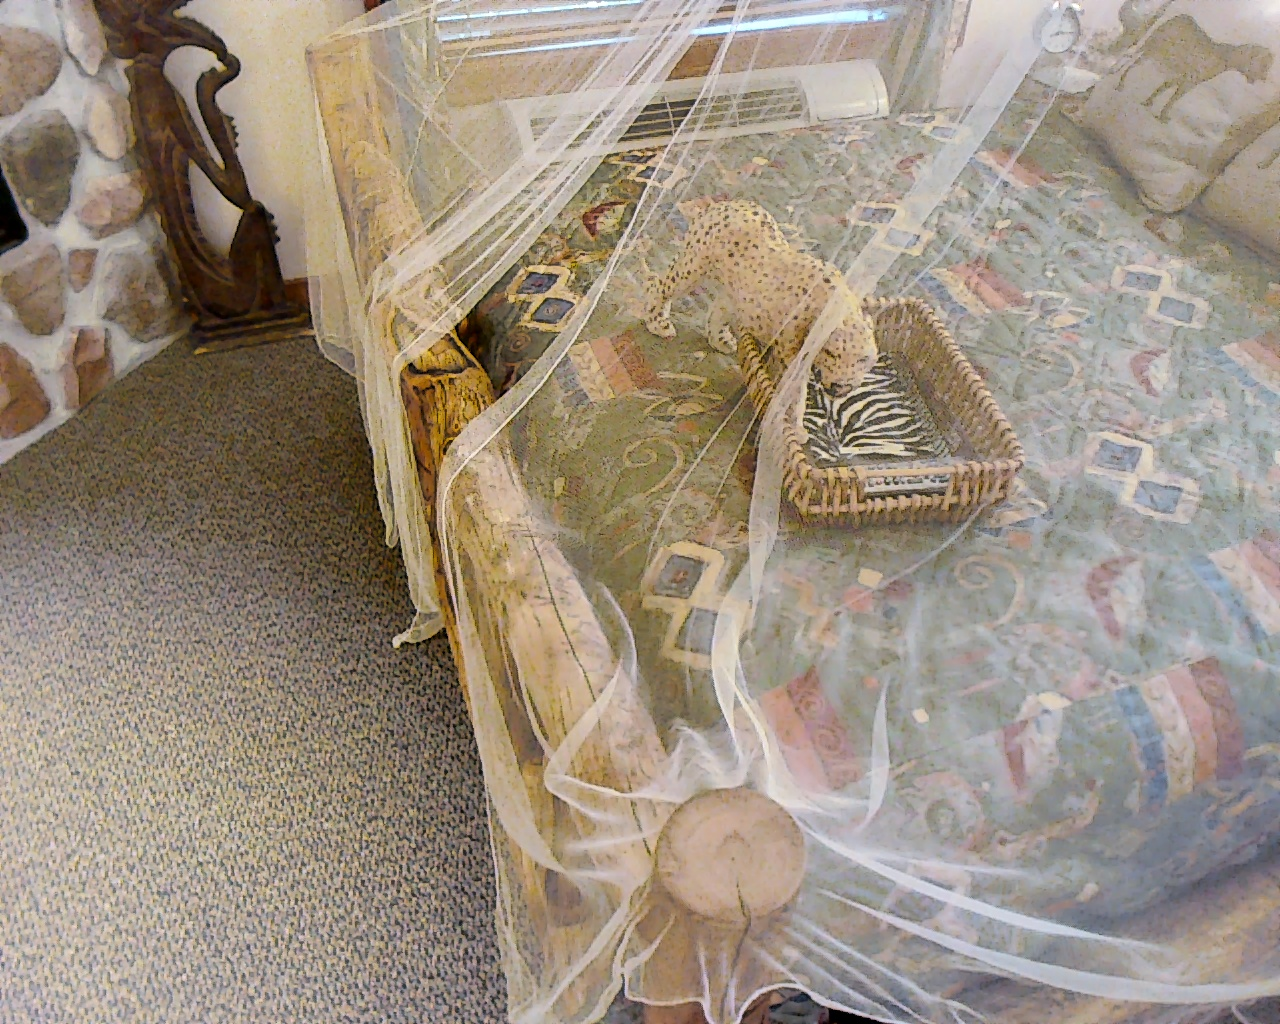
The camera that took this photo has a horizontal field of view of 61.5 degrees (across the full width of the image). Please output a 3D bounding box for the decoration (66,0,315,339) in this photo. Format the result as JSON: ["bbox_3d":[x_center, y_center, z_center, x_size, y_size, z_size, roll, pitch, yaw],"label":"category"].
[{"bbox_3d":[-1.040,-0.880,2.530,0.360,0.960,0.140,-12,44,-15],"label":"decoration"}]
